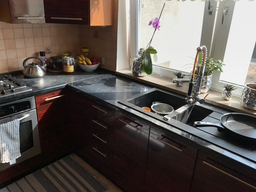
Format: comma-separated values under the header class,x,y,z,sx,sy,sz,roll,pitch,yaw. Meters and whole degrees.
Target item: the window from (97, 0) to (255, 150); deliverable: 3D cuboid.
class,x,y,z,sx,sy,sz,roll,pitch,yaw
window,0.550,-0.660,1.560,2.210,1.800,0.170,23,29,38
